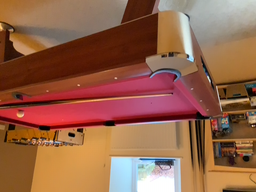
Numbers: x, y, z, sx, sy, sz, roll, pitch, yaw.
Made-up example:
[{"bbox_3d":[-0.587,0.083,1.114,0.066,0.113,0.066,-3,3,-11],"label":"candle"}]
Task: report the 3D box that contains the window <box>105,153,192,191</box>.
[{"bbox_3d":[0.350,1.500,3.670,1.340,0.930,0.650,-6,160,25],"label":"window"}]
